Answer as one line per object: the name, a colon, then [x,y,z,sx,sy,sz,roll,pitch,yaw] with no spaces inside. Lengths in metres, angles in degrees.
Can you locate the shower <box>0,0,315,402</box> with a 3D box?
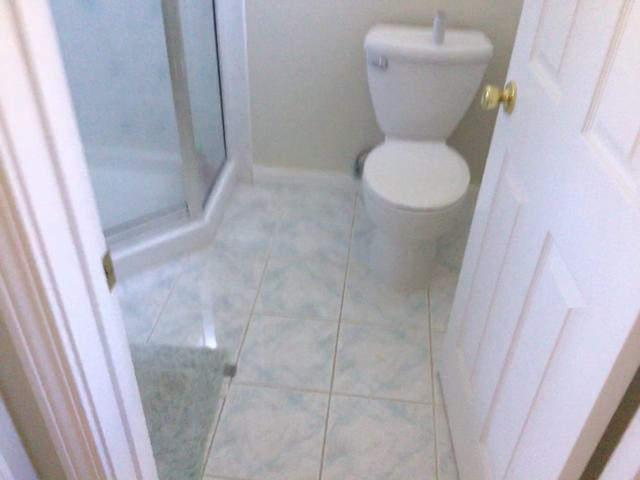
shower: [-0.800,-0.730,1.730,1.120,1.880,1.140,-18,37,-25]
